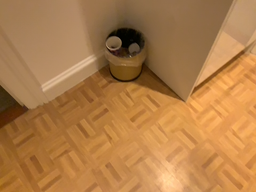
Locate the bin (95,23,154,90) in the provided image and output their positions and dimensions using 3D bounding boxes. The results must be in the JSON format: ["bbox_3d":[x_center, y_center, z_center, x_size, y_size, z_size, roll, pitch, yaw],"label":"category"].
[{"bbox_3d":[-0.020,-0.250,1.360,0.240,0.240,0.260,-34,66,-17],"label":"bin"}]
